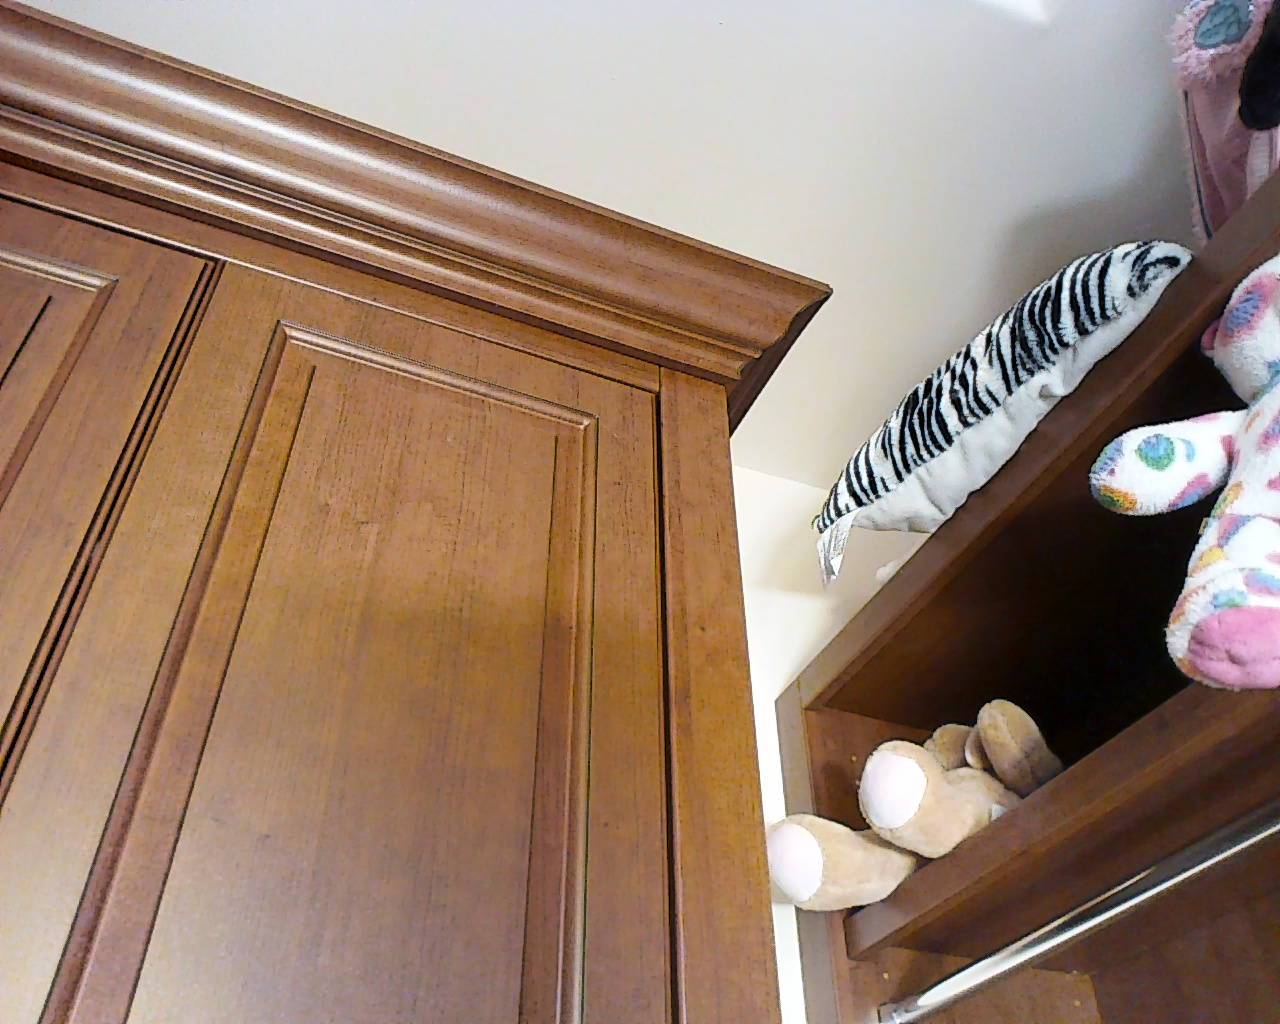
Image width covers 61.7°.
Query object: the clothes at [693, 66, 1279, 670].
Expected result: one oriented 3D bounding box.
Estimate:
[{"bbox_3d":[0.340,-0.110,1.070,0.240,0.270,0.550,34,-51,-32],"label":"clothes"}]
